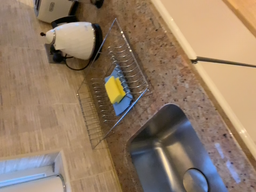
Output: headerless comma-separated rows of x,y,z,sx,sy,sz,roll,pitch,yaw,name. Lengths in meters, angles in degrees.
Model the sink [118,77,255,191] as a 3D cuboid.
0.260,0.320,0.720,0.470,0.220,0.600,-52,51,42,sink
